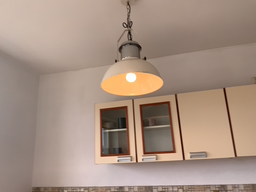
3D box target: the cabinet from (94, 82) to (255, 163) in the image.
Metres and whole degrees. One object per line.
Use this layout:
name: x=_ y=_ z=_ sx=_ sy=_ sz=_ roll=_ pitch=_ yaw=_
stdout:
cabinet: x=0.490 y=0.280 z=1.970 sx=0.310 sy=1.590 sz=0.600 roll=46 pitch=-140 yaw=-70

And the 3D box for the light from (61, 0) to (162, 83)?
light: x=-0.050 y=-0.350 z=1.450 sx=0.670 sy=0.430 sz=0.450 roll=-6 pitch=-91 yaw=-73
